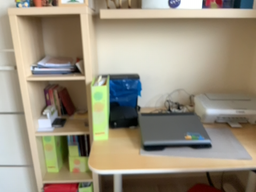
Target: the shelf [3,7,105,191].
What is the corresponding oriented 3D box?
[{"bbox_3d":[-0.430,0.170,1.520,0.430,1.460,0.400,-2,18,-2],"label":"shelf"}]
